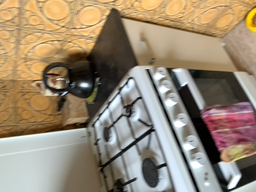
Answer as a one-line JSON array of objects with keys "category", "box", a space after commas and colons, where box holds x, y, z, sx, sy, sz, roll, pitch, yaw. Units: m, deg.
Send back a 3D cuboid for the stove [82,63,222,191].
[{"category": "stove", "box": [0.010, 0.250, 0.940, 0.630, 0.150, 0.490, -48, 51, 46]}]
